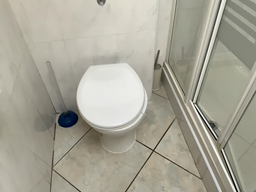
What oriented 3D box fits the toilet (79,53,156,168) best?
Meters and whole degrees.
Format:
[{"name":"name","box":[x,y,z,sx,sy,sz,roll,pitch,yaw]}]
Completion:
[{"name":"toilet","box":[-0.080,0.080,1.310,0.340,0.440,0.500,-9,47,-7]}]
